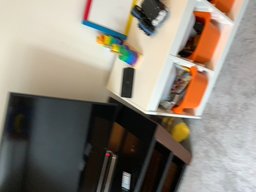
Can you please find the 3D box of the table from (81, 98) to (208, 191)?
[{"bbox_3d":[0.020,0.700,1.610,0.570,0.450,1.210,30,106,48],"label":"table"}]
